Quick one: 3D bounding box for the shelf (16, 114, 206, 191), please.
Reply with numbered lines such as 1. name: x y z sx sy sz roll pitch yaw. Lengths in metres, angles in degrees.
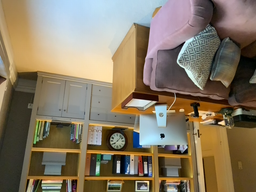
1. shelf: -0.160 1.330 3.530 2.940 1.670 0.680 7 160 -19
